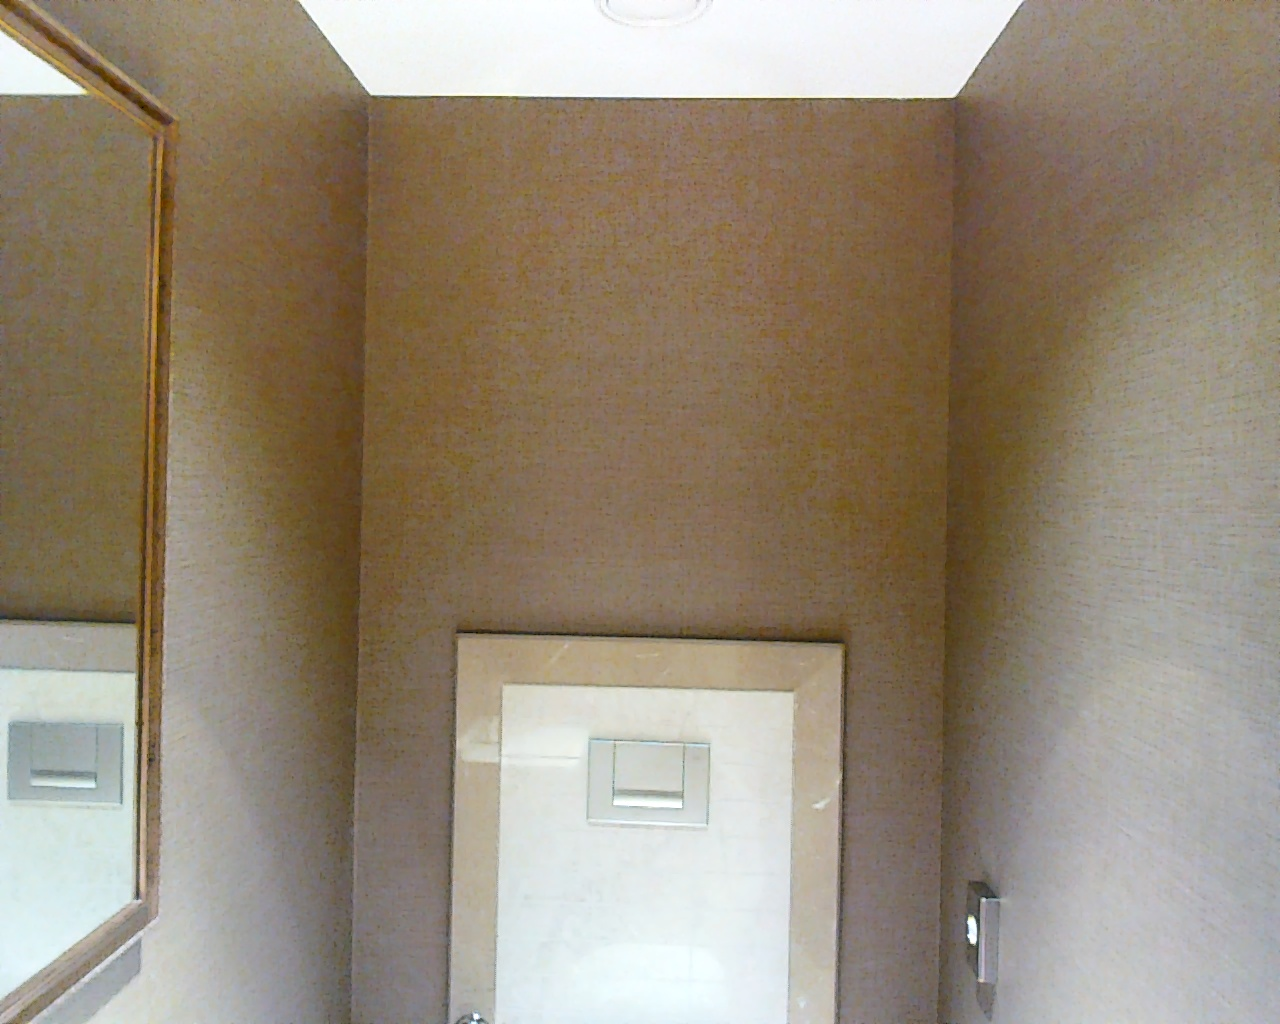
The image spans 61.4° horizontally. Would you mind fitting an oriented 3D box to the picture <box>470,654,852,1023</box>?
[{"bbox_3d":[0.040,0.730,2.210,0.770,0.860,0.030,1,0,3],"label":"picture"}]
